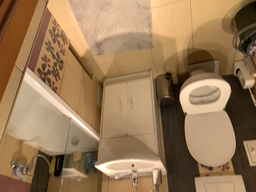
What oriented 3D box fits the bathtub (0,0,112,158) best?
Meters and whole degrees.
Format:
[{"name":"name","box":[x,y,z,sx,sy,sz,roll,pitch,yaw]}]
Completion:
[{"name":"bathtub","box":[-0.730,-0.020,1.720,0.690,0.560,1.580,-9,147,13]}]

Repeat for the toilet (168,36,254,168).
[{"name":"toilet","box":[0.580,0.060,1.660,0.390,0.840,0.520,-9,147,13]}]
